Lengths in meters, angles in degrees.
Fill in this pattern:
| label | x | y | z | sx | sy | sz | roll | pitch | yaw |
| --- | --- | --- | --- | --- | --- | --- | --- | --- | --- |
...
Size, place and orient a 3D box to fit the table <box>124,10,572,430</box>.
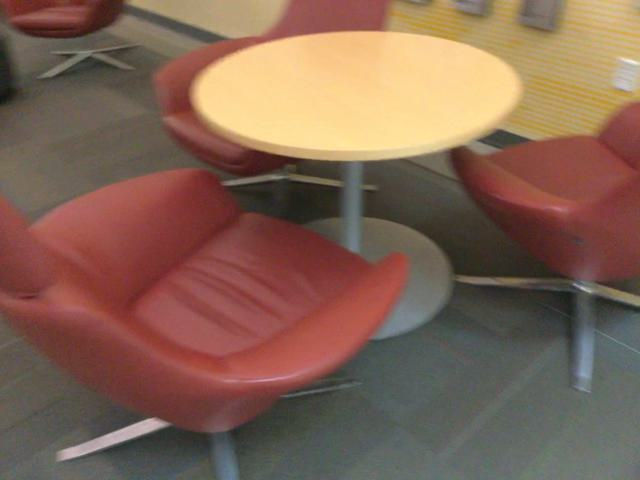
| label | x | y | z | sx | sy | sz | roll | pitch | yaw |
| --- | --- | --- | --- | --- | --- | --- | --- | --- | --- |
| table | 0.060 | -0.170 | 1.880 | 0.870 | 0.780 | 0.940 | -28 | 45 | -33 |
